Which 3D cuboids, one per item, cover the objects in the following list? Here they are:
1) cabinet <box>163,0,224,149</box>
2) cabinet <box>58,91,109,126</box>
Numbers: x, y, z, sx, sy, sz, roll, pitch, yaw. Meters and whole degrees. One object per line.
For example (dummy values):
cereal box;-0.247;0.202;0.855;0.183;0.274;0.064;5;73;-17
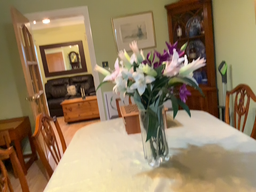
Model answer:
cabinet;0.860;-0.320;2.830;0.460;1.880;0.560;-9;11;-2
cabinet;-0.990;0.270;4.920;1.020;0.520;0.600;-9;11;-4
